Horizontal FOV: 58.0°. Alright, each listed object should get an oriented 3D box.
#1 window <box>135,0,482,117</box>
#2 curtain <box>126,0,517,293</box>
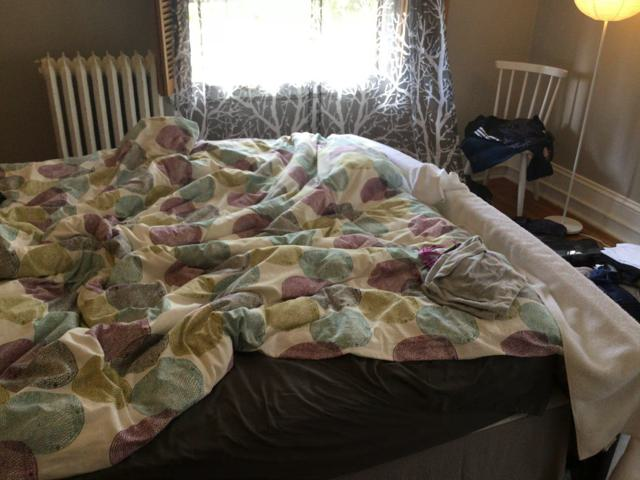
[{"bbox_3d":[0.000,-1.340,2.720,1.700,1.280,0.300,-11,30,-21],"label":"window"},{"bbox_3d":[0.010,-0.990,2.750,1.670,2.100,0.710,-11,30,-21],"label":"curtain"}]
